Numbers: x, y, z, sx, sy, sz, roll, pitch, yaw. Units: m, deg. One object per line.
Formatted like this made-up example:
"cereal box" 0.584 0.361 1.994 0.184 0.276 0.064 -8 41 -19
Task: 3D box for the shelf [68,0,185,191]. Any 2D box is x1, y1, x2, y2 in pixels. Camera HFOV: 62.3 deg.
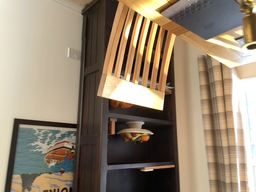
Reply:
"shelf" 0.030 0.100 1.870 0.920 1.790 0.400 12 163 -42

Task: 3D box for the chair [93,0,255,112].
"chair" 0.230 -0.500 0.920 0.540 1.040 0.490 -11 163 42
